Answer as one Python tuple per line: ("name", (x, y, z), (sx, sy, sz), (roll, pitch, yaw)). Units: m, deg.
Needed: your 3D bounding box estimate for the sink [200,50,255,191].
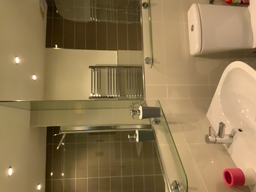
("sink", (0.610, 0.100, 1.050), (0.550, 0.180, 0.450), (-101, 13, -52))
